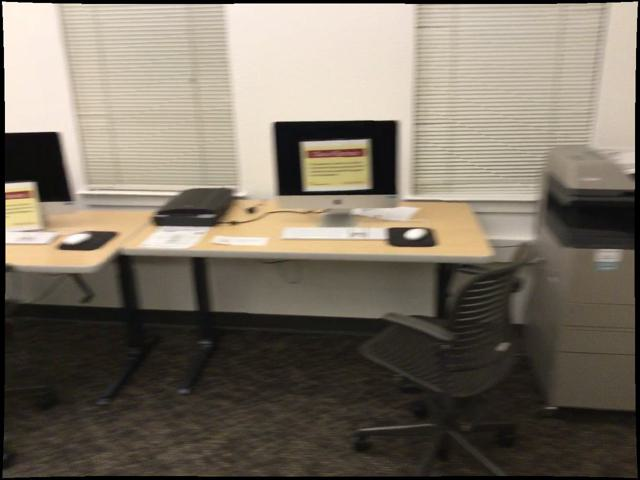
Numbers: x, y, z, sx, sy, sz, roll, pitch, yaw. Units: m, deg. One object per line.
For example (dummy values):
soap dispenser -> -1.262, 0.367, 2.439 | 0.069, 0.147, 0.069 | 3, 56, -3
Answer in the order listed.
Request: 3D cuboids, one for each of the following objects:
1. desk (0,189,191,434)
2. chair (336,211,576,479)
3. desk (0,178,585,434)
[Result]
desk -> -1.379, 0.250, 2.680 | 1.239, 0.721, 0.970 | 1, 21, 5
chair -> 0.440, 0.410, 2.020 | 0.510, 0.831, 0.570 | -19, 27, -40
desk -> -0.210, 0.220, 2.640 | 2.348, 0.781, 0.860 | 1, 21, 5
